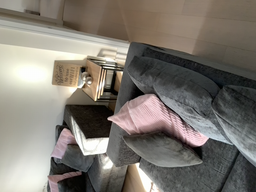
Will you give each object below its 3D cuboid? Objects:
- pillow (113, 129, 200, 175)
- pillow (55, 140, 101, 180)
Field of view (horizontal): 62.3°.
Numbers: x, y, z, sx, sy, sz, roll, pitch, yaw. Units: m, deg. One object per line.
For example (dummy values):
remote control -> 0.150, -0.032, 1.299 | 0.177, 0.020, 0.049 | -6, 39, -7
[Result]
pillow -> 0.180, 0.360, 1.390 | 0.440, 0.320, 0.150 | -11, 50, 46
pillow -> -0.610, 0.790, 2.600 | 0.390, 0.370, 0.160 | -37, 33, 15
